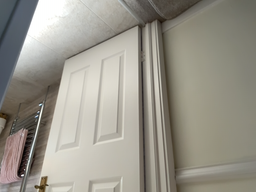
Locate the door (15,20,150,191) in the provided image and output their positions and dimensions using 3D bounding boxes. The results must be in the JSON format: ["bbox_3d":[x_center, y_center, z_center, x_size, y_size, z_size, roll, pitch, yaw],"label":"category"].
[{"bbox_3d":[-0.280,0.470,1.110,0.820,1.980,0.090,-15,146,25],"label":"door"}]
